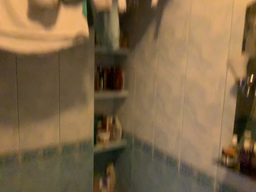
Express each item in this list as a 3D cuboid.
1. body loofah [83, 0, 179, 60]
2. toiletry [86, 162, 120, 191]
[{"bbox_3d":[-0.010,-0.640,1.320,0.370,0.800,0.550,-3,9,-31],"label":"body loofah"},{"bbox_3d":[-0.230,0.800,1.910,0.210,0.280,0.240,-4,10,-34],"label":"toiletry"}]
